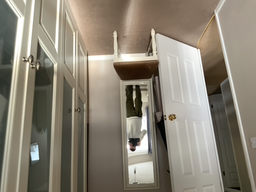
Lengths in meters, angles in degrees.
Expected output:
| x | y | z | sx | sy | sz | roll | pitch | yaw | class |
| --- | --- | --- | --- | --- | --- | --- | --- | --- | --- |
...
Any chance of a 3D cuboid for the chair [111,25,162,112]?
| x | y | z | sx | sy | sz | roll | pitch | yaw | class |
| --- | --- | --- | --- | --- | --- | --- | --- | --- | --- |
| 0.080 | -0.310 | 2.560 | 0.500 | 0.880 | 0.510 | -3 | 162 | -1 | chair |
